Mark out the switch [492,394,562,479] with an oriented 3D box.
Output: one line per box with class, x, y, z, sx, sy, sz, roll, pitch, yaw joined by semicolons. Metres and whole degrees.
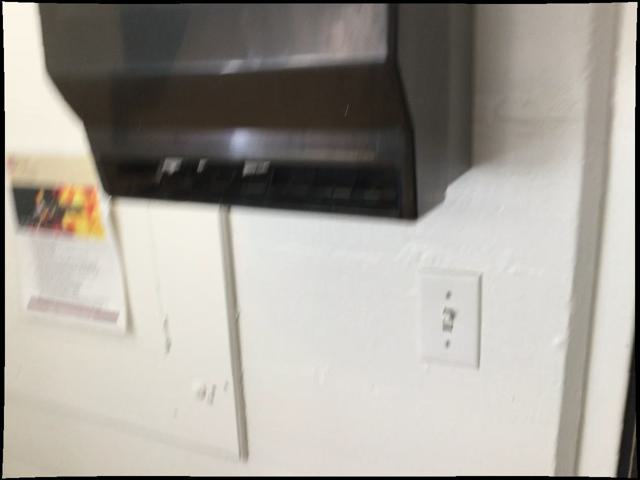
switch;0.239;0.241;0.670;0.070;0.110;0.020;5;18;26
